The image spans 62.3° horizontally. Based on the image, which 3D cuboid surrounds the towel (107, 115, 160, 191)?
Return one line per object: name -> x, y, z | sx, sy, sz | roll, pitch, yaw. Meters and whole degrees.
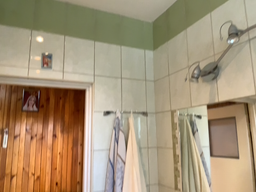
towel -> 0.030, 0.630, 1.330 | 0.270, 1.000, 0.210 | 4, -11, -24
